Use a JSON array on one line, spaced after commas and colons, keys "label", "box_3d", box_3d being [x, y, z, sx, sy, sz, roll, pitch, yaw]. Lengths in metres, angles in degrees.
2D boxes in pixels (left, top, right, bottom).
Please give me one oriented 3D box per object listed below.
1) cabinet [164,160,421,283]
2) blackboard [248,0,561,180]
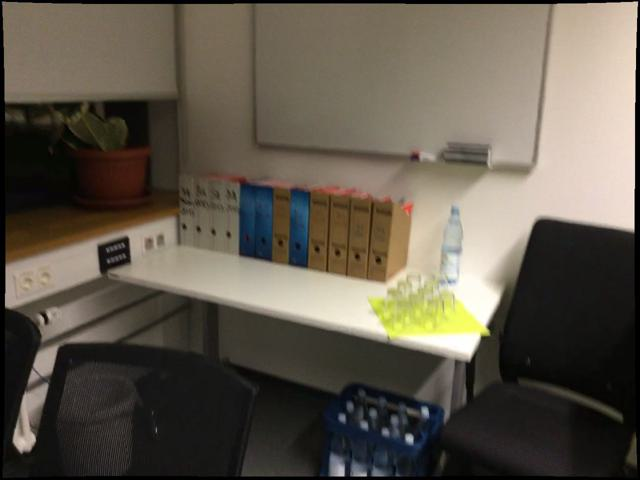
[{"label": "cabinet", "box_3d": [-0.140, -0.110, 2.460, 1.059, 0.310, 0.280, 10, 19, 23]}, {"label": "blackboard", "box_3d": [0.260, -0.721, 2.220, 1.179, 0.831, 0.120, 10, 19, 23]}]
